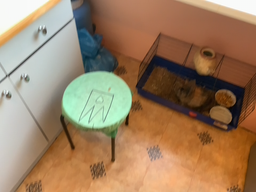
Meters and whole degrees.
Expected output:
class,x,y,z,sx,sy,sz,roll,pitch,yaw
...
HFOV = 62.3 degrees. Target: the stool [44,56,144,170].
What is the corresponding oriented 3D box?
class,x,y,z,sx,sy,sz,roll,pitch,yaw
stool,-0.160,0.110,1.160,0.330,0.460,0.330,24,56,12
